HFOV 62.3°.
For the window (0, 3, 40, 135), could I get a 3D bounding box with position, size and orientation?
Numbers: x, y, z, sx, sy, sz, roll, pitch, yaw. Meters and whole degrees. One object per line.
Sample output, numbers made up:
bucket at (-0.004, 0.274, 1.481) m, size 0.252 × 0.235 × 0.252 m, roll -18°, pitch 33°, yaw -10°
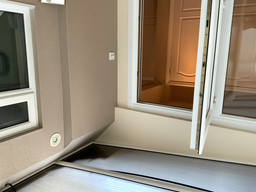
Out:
window at (-1.070, -0.160, 1.470) m, size 0.100 × 0.970 × 0.920 m, roll 8°, pitch -165°, yaw 28°
